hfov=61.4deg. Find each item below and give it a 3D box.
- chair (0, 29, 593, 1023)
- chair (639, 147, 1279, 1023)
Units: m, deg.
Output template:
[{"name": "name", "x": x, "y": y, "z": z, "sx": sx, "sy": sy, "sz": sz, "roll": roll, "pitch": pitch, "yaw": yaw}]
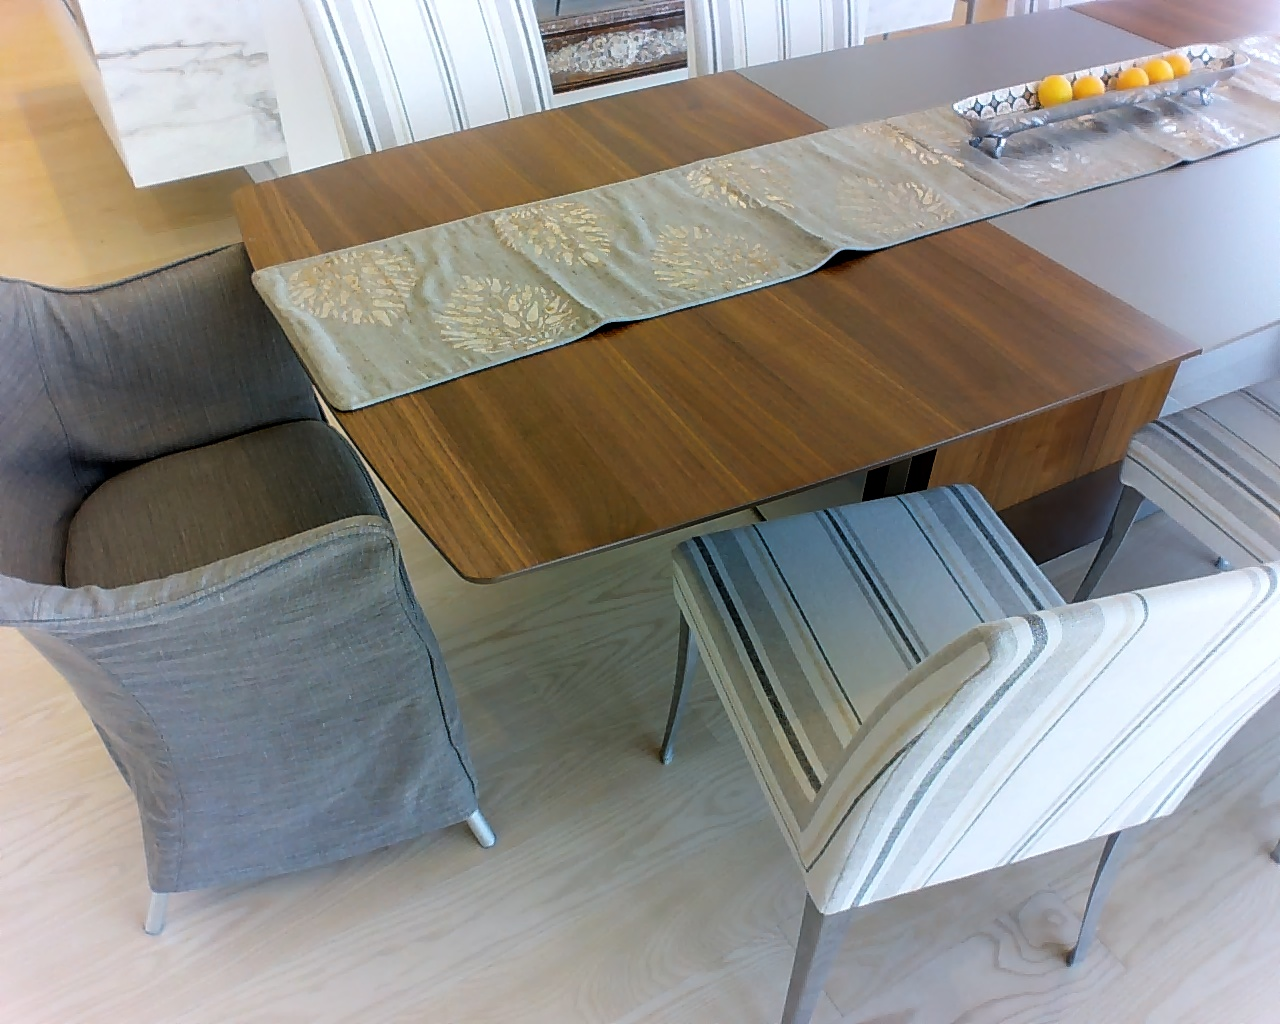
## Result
[{"name": "chair", "x": -0.560, "y": 0.060, "z": 1.310, "sx": 0.720, "sy": 0.920, "sz": 0.740, "roll": -21, "pitch": 46, "yaw": -22}, {"name": "chair", "x": 0.350, "y": 0.160, "z": 1.210, "sx": 0.530, "sy": 0.850, "sz": 0.630, "roll": -12, "pitch": 43, "yaw": -13}]
